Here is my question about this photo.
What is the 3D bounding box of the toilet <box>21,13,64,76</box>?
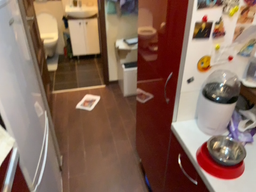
[{"bbox_3d":[-1.420,-0.890,3.660,0.470,0.910,0.520,-7,34,-11],"label":"toilet"}]

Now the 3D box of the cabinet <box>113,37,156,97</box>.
[{"bbox_3d":[0.070,-0.390,2.790,0.420,0.620,0.410,-9,35,-14],"label":"cabinet"}]
